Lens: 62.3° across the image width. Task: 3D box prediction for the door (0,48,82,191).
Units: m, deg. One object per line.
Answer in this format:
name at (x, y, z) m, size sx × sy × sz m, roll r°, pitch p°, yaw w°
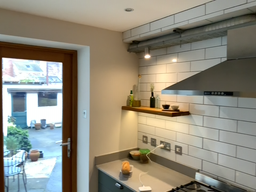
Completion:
door at (-1.200, 0.640, 2.150) m, size 1.490 × 2.210 × 0.080 m, roll 0°, pitch 3°, yaw -36°
